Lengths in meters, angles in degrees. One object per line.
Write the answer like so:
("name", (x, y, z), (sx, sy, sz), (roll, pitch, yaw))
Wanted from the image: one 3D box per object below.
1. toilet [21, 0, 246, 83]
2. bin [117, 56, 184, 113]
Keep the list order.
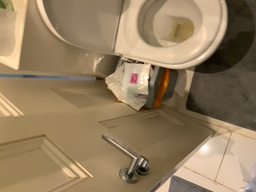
("toilet", (0.120, -0.310, 0.860), (0.490, 0.810, 0.390), (21, 104, 29))
("bin", (0.130, -0.060, 1.100), (0.140, 0.350, 0.220), (26, 106, 28))
